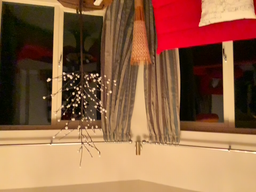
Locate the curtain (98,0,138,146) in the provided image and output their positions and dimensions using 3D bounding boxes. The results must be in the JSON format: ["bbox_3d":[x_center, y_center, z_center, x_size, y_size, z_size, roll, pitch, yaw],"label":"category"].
[{"bbox_3d":[-0.130,-0.380,2.690,0.480,1.950,0.260,1,177,-7],"label":"curtain"}]

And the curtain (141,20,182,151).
[{"bbox_3d":[0.400,-0.120,2.570,0.420,1.470,0.250,-1,177,28],"label":"curtain"}]

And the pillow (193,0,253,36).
[{"bbox_3d":[0.830,-0.810,1.860,0.450,0.440,0.240,-2,-153,27],"label":"pillow"}]

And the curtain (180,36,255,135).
[{"bbox_3d":[1.250,-0.110,2.520,1.240,1.100,0.130,-2,177,30],"label":"curtain"}]
